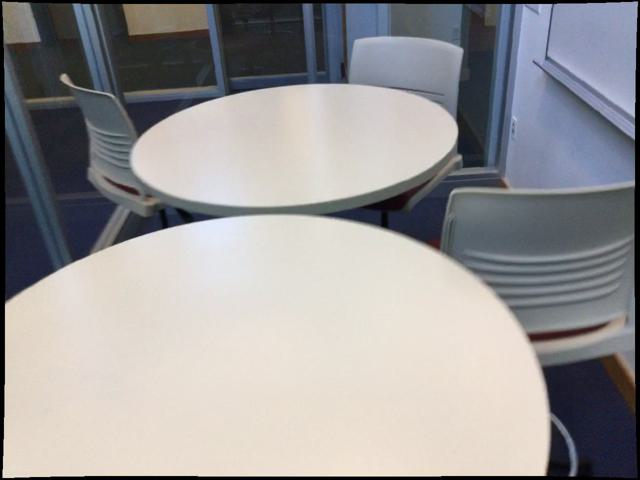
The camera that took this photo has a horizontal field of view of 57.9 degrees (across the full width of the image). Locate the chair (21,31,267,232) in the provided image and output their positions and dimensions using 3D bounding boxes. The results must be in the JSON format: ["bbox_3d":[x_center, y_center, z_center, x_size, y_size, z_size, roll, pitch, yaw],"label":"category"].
[{"bbox_3d":[-0.629,-0.440,2.150,0.600,0.460,0.550,24,43,35],"label":"chair"}]

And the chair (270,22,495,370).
[{"bbox_3d":[0.260,-0.180,2.250,0.540,1.111,0.600,17,39,28],"label":"chair"}]

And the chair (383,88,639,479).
[{"bbox_3d":[0.460,0.260,1.500,0.529,1.131,0.510,-4,34,1],"label":"chair"}]
